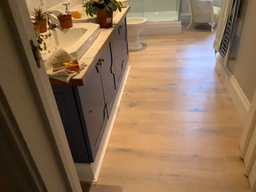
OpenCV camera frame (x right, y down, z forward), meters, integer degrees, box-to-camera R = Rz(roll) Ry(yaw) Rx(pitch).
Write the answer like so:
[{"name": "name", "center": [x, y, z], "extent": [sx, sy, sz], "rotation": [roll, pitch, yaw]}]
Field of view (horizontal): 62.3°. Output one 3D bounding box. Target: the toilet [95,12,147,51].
[{"name": "toilet", "center": [-0.070, -0.960, 3.150], "extent": [0.690, 0.450, 0.440], "rotation": [2, 33, 8]}]
